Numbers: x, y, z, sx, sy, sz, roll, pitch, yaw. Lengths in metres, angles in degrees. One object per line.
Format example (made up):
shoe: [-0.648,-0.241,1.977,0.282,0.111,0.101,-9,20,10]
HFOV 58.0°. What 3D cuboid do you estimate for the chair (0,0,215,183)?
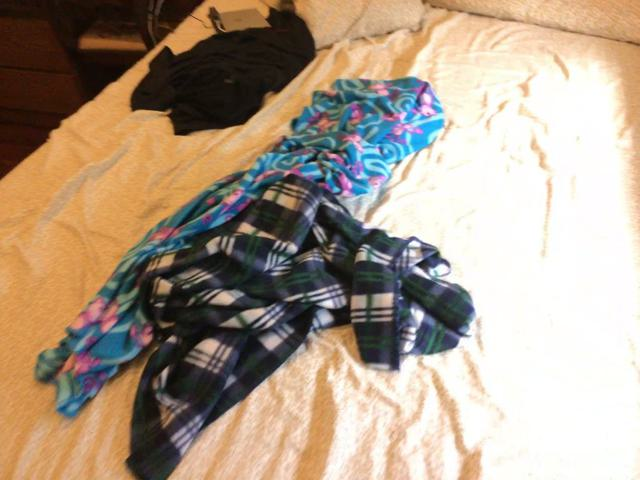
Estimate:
chair: [-0.760,-0.740,2.140,0.460,0.880,0.480,10,44,12]

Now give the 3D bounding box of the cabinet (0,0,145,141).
cabinet: [-1.180,-0.790,2.450,0.630,0.530,0.390,10,44,12]

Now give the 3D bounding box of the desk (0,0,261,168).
desk: [-0.990,-0.830,2.330,1.340,0.720,0.530,10,44,12]
